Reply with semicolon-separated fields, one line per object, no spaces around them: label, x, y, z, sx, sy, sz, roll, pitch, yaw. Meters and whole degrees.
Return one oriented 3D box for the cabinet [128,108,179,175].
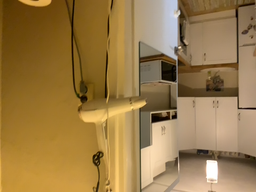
cabinet;0.450;0.600;3.270;0.400;0.790;1.210;-1;179;26
